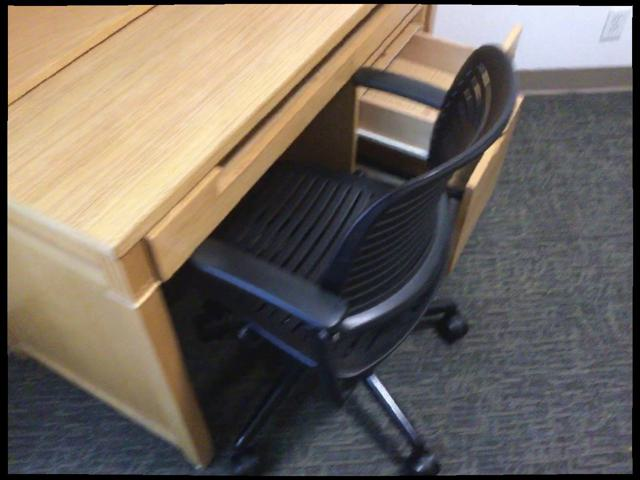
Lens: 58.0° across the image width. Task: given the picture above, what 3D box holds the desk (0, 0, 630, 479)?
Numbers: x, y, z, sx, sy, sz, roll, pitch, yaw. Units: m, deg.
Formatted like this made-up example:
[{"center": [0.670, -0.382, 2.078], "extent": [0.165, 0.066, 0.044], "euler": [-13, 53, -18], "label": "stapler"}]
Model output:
[{"center": [-0.379, -0.271, 1.400], "extent": [1.357, 1.271, 1.391], "euler": [2, -42, 3], "label": "desk"}]
